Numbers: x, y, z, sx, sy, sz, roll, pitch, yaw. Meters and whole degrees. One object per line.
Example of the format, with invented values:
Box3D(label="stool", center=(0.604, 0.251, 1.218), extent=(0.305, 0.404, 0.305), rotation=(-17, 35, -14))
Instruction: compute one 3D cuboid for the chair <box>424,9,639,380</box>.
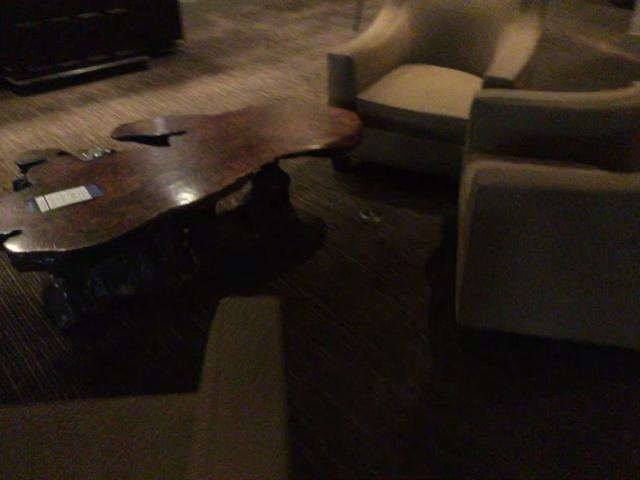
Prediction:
Box3D(label="chair", center=(0.920, -0.180, 1.870), extent=(1.010, 0.850, 0.850), rotation=(7, 35, 11))

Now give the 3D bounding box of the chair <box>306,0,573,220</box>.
Box3D(label="chair", center=(0.610, -0.820, 2.870), extent=(0.940, 0.830, 1.070), rotation=(17, 38, 23))

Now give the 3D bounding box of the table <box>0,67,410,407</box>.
Box3D(label="table", center=(-0.440, -0.170, 2.230), extent=(0.750, 0.480, 1.540), rotation=(29, 44, 35))
